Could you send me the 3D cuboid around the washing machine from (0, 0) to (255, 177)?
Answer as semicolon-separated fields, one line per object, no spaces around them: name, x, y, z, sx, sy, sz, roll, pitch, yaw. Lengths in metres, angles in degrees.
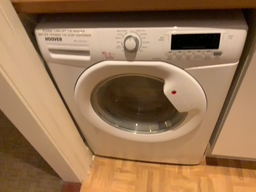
washing machine;0.070;-0.140;1.030;0.640;0.930;0.650;3;49;10
